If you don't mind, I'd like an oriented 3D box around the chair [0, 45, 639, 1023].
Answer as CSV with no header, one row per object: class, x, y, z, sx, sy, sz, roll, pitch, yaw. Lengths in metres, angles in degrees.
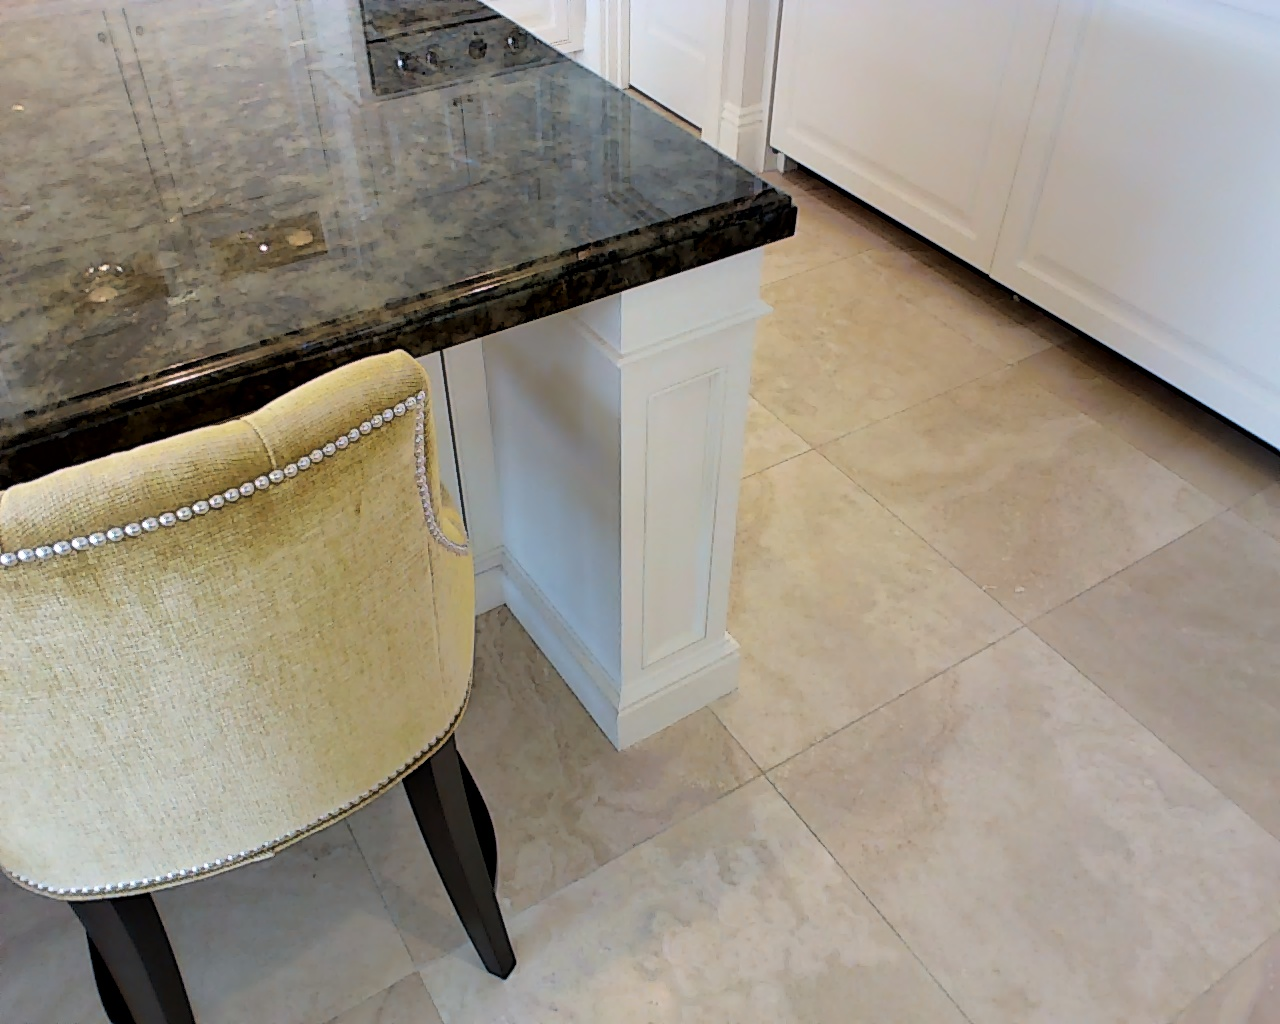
chair,-0.480,0.170,1.260,0.670,1.070,0.720,-22,47,-24
